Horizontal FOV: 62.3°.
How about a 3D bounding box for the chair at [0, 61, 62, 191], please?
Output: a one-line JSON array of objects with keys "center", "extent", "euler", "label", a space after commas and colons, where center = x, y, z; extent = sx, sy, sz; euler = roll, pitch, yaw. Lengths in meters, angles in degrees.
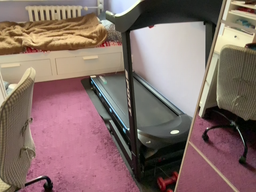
[{"center": [-0.710, 0.330, 1.100], "extent": [0.550, 0.910, 0.460], "euler": [0, 32, -7], "label": "chair"}]
